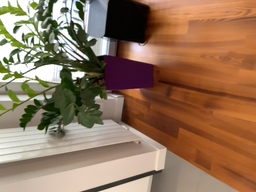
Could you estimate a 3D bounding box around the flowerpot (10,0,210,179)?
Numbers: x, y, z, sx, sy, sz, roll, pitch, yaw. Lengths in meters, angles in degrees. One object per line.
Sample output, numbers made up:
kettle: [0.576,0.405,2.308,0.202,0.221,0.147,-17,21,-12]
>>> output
flowerpot: [-0.230,-0.230,1.490,1.030,0.890,0.960,21,107,51]
